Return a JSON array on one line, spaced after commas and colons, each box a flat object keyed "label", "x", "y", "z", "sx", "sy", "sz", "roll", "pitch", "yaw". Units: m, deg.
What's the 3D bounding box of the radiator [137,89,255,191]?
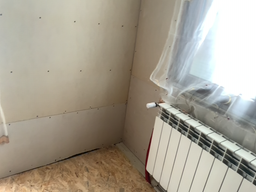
[{"label": "radiator", "x": 0.540, "y": 0.530, "z": 1.240, "sx": 0.180, "sy": 0.720, "sz": 1.260, "roll": -8, "pitch": 27, "yaw": -33}]
